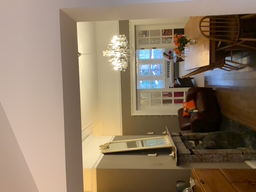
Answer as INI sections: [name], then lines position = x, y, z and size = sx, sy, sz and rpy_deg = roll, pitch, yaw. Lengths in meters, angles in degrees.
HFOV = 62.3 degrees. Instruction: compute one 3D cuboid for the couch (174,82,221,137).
[couch]
position = 1.630, 0.340, 5.200
size = 0.920, 0.800, 0.960
rpy_deg = 84, -175, -50
